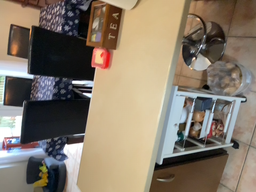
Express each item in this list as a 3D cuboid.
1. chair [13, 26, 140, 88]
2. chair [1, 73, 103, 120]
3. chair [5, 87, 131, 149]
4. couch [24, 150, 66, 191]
[{"bbox_3d":[-0.550,-0.370,2.380,0.660,1.190,0.430,9,95,52],"label":"chair"},{"bbox_3d":[-1.060,0.010,3.010,0.670,1.180,0.430,24,106,50],"label":"chair"},{"bbox_3d":[-0.680,0.210,2.480,0.680,1.210,0.420,23,105,50],"label":"chair"},{"bbox_3d":[-1.530,1.410,3.870,0.590,0.510,0.590,22,104,50],"label":"couch"}]
